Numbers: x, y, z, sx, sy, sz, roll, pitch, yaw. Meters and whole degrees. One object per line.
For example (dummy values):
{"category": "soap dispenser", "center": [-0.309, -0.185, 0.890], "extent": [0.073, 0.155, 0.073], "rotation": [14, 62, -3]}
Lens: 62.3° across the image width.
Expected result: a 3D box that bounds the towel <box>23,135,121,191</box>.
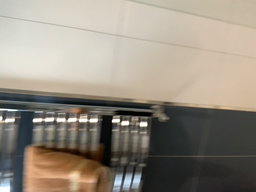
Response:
{"category": "towel", "center": [-0.270, 0.400, 1.010], "extent": [0.190, 0.390, 0.370], "rotation": [-137, 54, -68]}
